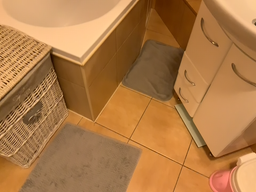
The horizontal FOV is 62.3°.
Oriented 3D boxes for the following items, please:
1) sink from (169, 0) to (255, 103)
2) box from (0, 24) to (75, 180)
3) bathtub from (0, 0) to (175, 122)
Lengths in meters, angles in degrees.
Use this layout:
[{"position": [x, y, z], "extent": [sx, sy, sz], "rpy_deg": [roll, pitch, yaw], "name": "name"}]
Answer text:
[{"position": [0.460, -0.290, 0.720], "extent": [0.420, 0.170, 0.540], "rpy_deg": [-14, 57, -12], "name": "sink"}, {"position": [-0.570, 0.050, 1.030], "extent": [0.330, 0.560, 0.450], "rpy_deg": [22, 57, 13], "name": "box"}, {"position": [-0.220, -0.680, 1.560], "extent": [0.790, 0.550, 1.470], "rpy_deg": [23, 57, 14], "name": "bathtub"}]
